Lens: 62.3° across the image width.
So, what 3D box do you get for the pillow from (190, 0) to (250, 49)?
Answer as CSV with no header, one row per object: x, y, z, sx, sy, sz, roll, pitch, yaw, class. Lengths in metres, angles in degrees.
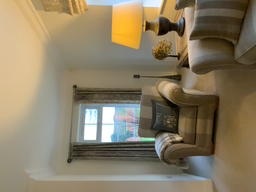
0.660,-0.590,1.560,0.190,0.370,0.410,-67,-30,-60,pillow

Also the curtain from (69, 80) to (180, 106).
-0.060,-0.060,4.420,0.120,2.250,0.470,104,167,-72,curtain

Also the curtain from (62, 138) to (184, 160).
-0.080,1.040,4.120,0.170,2.280,0.400,104,167,-72,curtain

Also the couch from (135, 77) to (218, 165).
0.630,0.300,3.240,1.030,0.920,1.090,-112,23,-80,couch
